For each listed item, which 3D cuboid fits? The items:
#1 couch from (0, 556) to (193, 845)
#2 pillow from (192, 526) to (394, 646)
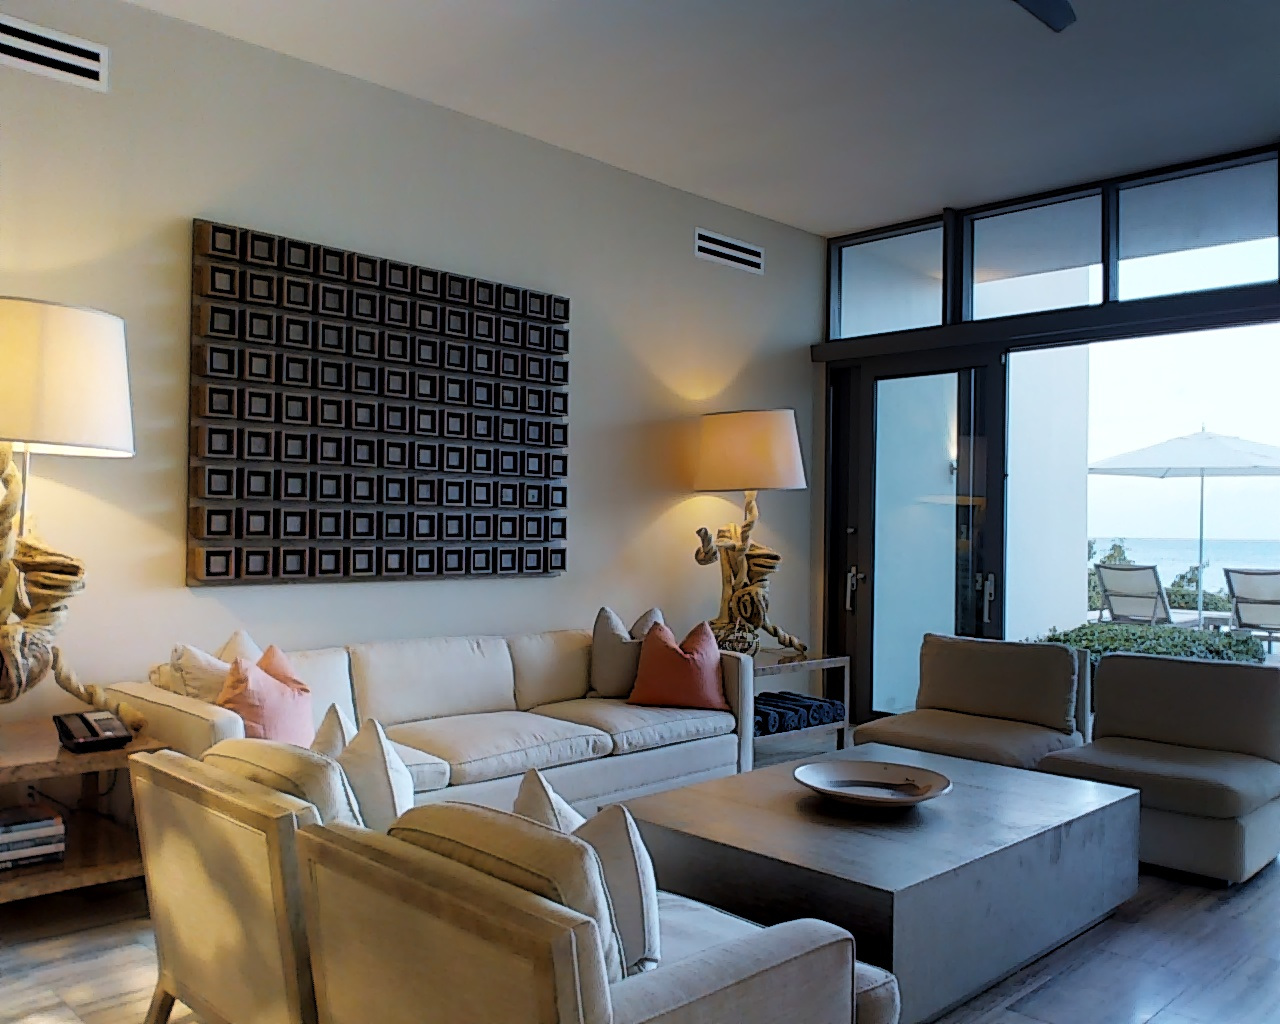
[{"bbox_3d":[-2.030,0.550,3.410,0.870,0.780,0.850,1,-1,-44],"label":"couch"},{"bbox_3d":[-1.570,0.310,4.880,0.710,0.490,0.530,1,-1,-42],"label":"pillow"}]
